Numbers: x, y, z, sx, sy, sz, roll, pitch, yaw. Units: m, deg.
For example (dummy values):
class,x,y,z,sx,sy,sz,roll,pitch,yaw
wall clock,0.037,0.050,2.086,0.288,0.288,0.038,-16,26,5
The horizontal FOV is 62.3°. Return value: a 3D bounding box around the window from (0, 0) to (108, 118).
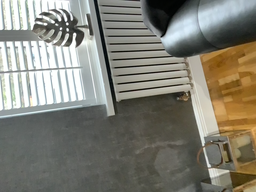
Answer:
class,x,y,z,sx,sy,sz,roll,pitch,yaw
window,-0.860,-0.450,1.420,0.100,1.270,1.180,147,113,-64
